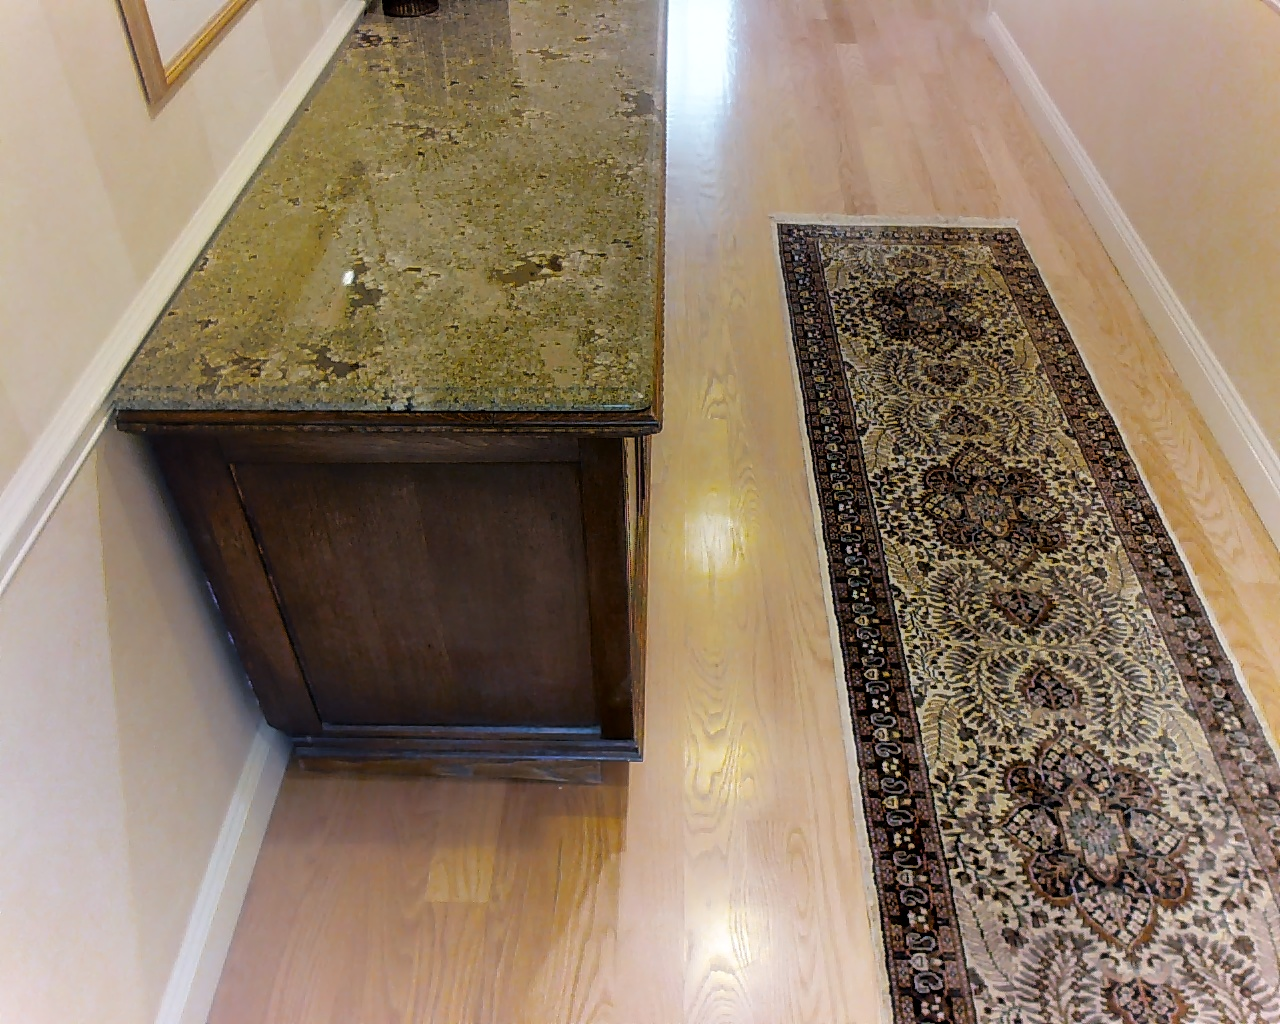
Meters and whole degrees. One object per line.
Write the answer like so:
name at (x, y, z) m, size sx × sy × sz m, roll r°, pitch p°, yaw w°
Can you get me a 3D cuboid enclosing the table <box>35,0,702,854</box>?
table at (-0.270, -0.420, 2.180) m, size 0.730 × 0.920 × 1.890 m, roll 2°, pitch 42°, yaw 1°
